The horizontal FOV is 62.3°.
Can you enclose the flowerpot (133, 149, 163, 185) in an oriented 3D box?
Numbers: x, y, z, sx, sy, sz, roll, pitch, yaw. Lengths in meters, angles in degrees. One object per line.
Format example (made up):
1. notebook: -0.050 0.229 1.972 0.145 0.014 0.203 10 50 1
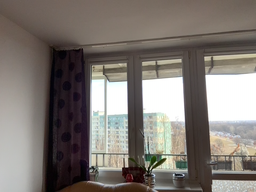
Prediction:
1. flowerpot: 0.250 0.850 2.590 0.330 0.360 0.280 -1 -6 8
